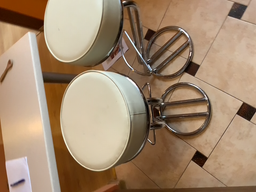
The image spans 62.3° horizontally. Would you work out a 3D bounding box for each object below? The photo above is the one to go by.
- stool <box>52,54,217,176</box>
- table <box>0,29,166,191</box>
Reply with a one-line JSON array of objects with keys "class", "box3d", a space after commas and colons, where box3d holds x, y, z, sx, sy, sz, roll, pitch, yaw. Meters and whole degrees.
[{"class": "stool", "box3d": [0.120, 0.080, 1.060, 0.340, 0.850, 0.340, -20, 79, 34]}, {"class": "table", "box3d": [-0.250, 0.200, 1.320, 0.430, 0.850, 0.910, -19, 80, 34]}]
